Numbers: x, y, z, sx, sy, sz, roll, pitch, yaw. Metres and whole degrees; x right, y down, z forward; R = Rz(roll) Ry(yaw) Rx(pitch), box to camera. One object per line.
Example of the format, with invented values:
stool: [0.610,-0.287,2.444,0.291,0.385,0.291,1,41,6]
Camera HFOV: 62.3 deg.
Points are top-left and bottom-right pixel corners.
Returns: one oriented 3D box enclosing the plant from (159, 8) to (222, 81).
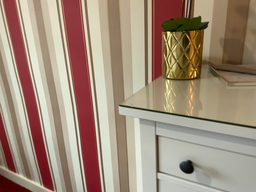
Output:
plant: [0.210,-0.180,0.710,0.150,0.200,0.200,8,23,27]
